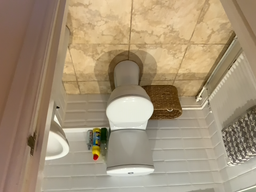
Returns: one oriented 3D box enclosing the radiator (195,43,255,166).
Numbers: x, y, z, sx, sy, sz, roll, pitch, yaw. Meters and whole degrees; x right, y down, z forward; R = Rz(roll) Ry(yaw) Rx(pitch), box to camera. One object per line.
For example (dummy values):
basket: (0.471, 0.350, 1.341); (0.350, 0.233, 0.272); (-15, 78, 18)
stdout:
radiator: (0.730, 0.100, 1.560); (0.090, 0.640, 0.700); (-1, 149, -6)

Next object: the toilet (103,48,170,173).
toilet: (0.000, 0.140, 1.740); (0.390, 0.790, 0.680); (-1, 149, -7)
